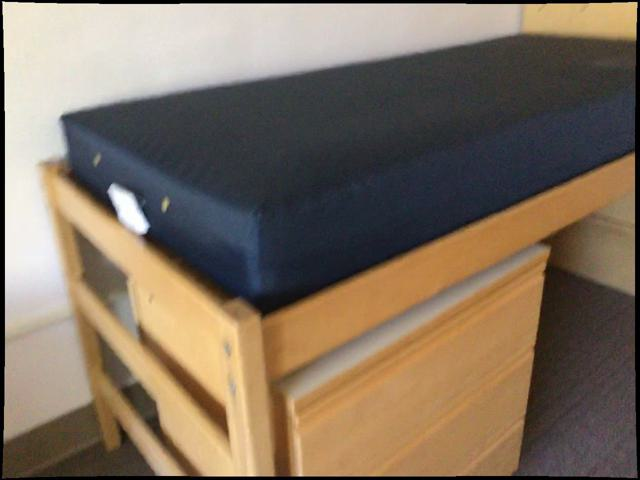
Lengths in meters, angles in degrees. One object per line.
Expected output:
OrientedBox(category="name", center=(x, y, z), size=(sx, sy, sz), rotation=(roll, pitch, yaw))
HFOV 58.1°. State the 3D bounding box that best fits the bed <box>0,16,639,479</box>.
OrientedBox(category="bed", center=(0.399, 0.000, 1.910), size=(2.217, 1.122, 1.059), rotation=(-23, 31, -32))
